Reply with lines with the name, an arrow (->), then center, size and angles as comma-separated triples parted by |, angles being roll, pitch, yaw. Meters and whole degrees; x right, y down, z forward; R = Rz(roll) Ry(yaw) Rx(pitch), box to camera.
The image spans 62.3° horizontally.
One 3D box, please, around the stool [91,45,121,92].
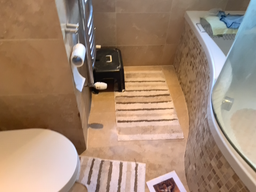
stool -> -0.190, -0.250, 1.900 | 0.240, 0.270, 0.340 | -1, 46, -4
